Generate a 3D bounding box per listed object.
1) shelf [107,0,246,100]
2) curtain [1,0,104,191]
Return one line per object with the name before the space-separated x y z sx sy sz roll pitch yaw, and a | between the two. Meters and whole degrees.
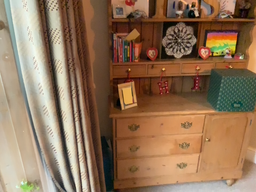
shelf | 0.360 -0.510 1.710 1.030 1.060 0.190 -2 23 -7
curtain | -0.320 -0.030 1.200 0.250 2.310 0.680 0 23 -3
